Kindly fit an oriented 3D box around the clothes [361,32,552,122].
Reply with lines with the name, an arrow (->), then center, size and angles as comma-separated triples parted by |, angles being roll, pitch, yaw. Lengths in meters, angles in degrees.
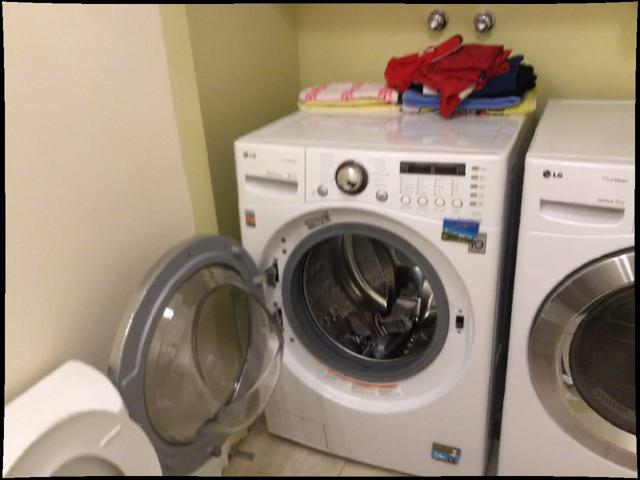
clothes -> 0.390, -0.470, 1.650 | 0.470, 0.190, 0.280 | 7, 27, 24
